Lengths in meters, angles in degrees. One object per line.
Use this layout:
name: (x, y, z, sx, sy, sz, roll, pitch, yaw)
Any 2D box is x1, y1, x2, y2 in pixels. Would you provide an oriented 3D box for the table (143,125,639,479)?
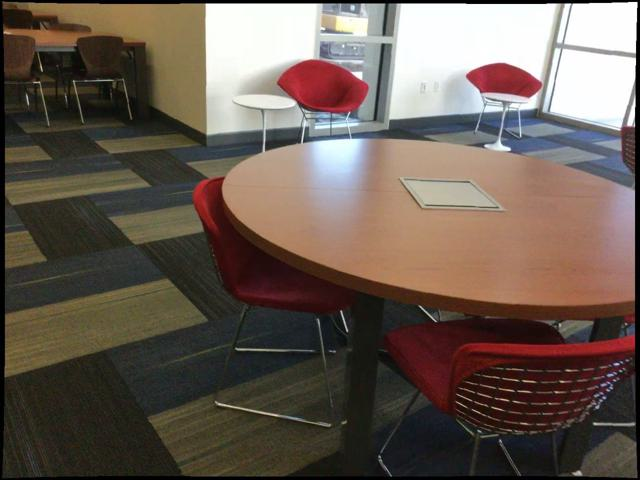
table: (0.369, 0.180, 2.120, 1.488, 0.792, 1.549, -11, 28, -35)
